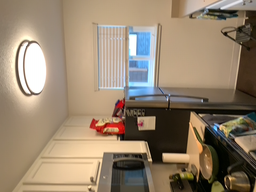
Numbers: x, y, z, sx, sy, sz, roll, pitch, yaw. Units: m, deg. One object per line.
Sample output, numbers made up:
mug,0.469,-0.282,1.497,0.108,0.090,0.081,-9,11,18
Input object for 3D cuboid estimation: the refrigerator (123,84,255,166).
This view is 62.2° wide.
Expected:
refrigerator,0.760,0.330,2.780,0.790,1.620,0.800,-95,7,-76

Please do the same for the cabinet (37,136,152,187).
cabinet,-0.320,0.670,2.210,0.380,1.070,0.350,-95,7,-76

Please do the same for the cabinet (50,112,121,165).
cabinet,-0.490,0.520,2.780,0.820,0.770,0.350,-95,7,-76
